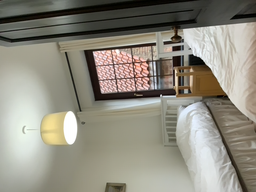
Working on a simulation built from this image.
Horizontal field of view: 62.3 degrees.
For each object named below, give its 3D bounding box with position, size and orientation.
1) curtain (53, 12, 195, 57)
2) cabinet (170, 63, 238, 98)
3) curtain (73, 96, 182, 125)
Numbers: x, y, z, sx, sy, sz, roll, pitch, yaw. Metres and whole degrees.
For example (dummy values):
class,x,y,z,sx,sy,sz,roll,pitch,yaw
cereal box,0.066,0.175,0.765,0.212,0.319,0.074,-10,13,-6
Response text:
class,x,y,z,sx,sy,sz,roll,pitch,yaw
curtain,-0.060,-0.870,3.040,0.200,1.940,0.430,-79,-15,-63
cabinet,1.060,-0.220,3.070,0.350,0.840,0.350,-79,-15,-63
curtain,-0.010,0.260,3.640,0.120,1.800,0.420,-79,-15,-63
